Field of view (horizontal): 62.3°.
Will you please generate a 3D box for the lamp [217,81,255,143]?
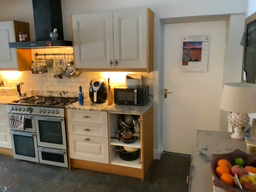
[{"bbox_3d":[0.920,0.120,1.780,0.260,0.460,0.240,2,13,16],"label":"lamp"}]
